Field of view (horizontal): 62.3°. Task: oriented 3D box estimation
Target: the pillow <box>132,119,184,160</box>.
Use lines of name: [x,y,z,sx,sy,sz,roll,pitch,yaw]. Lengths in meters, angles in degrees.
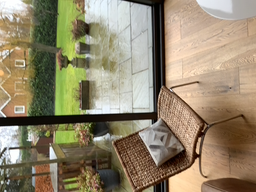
pillow: [0.280,0.390,2.000,0.430,0.260,0.100,38,110,31]
